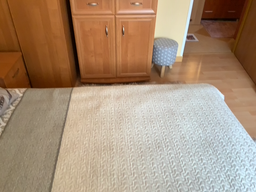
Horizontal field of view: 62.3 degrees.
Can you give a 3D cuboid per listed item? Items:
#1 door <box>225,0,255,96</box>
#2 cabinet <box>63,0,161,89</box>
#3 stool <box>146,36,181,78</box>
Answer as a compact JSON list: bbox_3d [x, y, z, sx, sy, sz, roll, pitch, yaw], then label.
[{"bbox_3d":[1.570,-1.110,2.300,0.110,2.020,1.030,4,38,2],"label":"door"},{"bbox_3d":[-0.160,-0.660,2.290,0.840,1.020,0.560,-1,38,-4],"label":"cabinet"},{"bbox_3d":[0.410,-0.470,2.540,0.300,0.390,0.300,-2,38,-6],"label":"stool"}]
